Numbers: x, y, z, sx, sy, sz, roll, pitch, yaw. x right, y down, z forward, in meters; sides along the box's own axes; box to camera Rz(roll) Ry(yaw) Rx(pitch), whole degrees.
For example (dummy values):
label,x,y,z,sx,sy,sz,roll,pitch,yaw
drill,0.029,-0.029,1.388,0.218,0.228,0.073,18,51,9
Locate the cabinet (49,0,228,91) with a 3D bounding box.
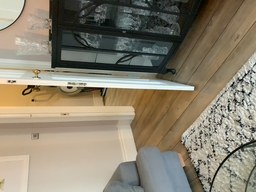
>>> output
label,x,y,z,sx,sy,sz,roll,pitch,yaw
cabinet,-0.020,-0.530,1.760,1.090,1.170,0.350,116,148,-48
